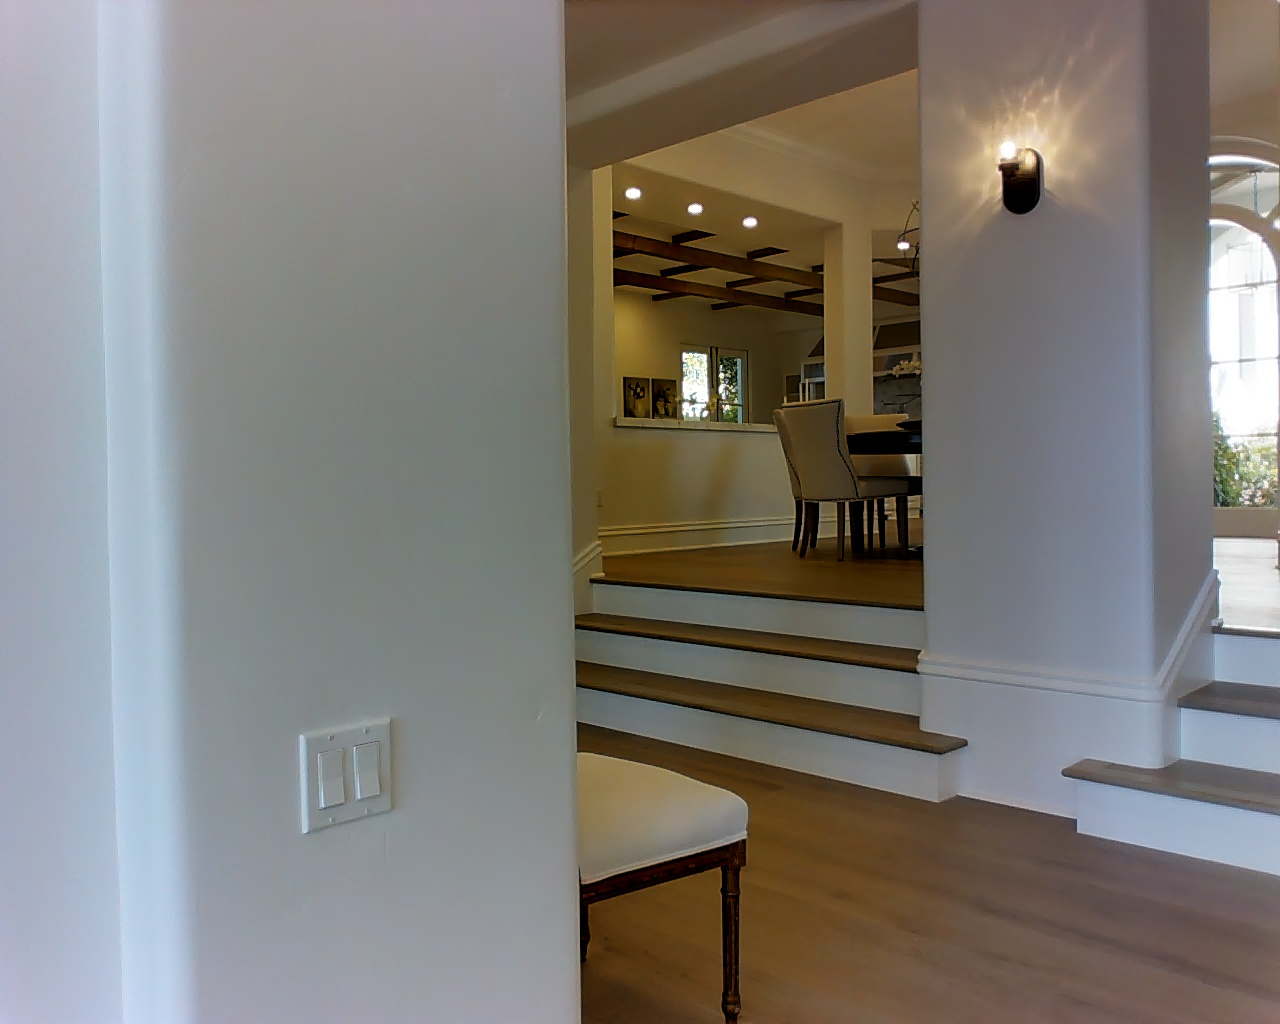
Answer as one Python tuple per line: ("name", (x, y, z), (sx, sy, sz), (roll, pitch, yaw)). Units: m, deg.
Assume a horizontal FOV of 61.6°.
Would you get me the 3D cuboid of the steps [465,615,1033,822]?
("steps", (0.270, 0.770, 4.570), (0.570, 0.440, 2.640), (-2, 1, -45))
